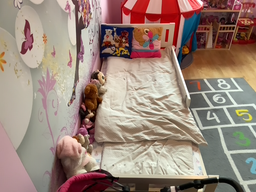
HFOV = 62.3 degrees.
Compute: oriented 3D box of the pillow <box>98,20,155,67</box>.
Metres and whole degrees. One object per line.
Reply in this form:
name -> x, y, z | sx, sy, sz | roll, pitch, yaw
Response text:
pillow -> -0.010, -0.550, 2.250 | 0.510, 0.300, 0.140 | -18, 21, 14
